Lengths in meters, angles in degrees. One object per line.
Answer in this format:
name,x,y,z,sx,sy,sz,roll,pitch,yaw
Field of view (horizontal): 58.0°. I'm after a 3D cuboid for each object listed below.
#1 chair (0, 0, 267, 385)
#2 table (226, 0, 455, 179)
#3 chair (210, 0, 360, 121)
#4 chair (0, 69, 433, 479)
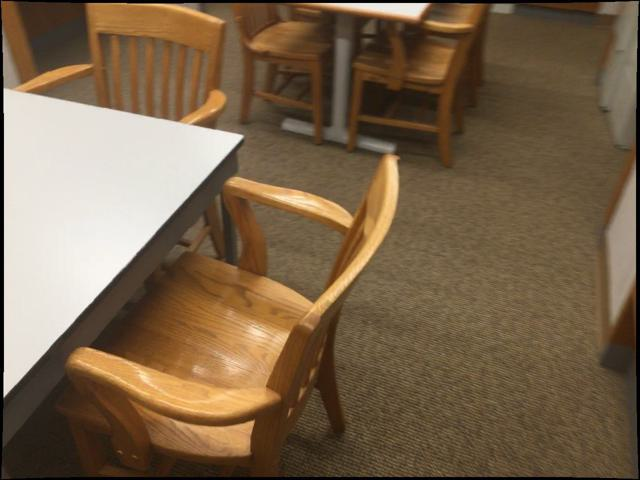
chair,-0.619,-0.140,1.720,0.639,0.821,0.681,12,51,12
table,0.209,-1.113,2.950,0.788,0.821,1.451,12,41,13
chair,-0.150,-1.053,2.730,0.529,0.821,0.440,7,45,17
chair,-0.190,0.231,1.260,0.589,0.861,0.621,16,47,8
